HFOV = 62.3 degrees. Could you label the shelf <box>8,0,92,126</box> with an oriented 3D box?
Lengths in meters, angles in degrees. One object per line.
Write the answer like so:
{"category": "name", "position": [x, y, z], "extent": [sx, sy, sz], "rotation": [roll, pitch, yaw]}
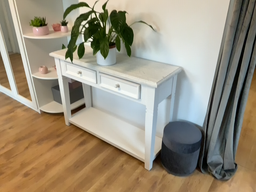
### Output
{"category": "shelf", "position": [-0.840, -0.900, 2.250], "extent": [0.360, 2.480, 0.620], "rotation": [21, 35, 32]}

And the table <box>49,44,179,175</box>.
{"category": "table", "position": [-0.180, 0.060, 2.150], "extent": [1.180, 0.880, 0.450], "rotation": [21, 35, 32]}

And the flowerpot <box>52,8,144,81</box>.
{"category": "flowerpot", "position": [-0.210, -0.460, 1.740], "extent": [0.390, 0.400, 0.610], "rotation": [22, 36, 34]}
